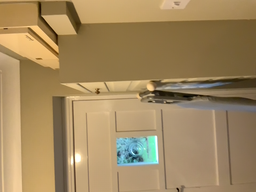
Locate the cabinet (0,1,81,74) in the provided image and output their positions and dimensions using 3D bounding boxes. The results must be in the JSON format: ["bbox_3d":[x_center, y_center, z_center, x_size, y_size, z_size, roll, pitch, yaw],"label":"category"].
[{"bbox_3d":[-0.420,-0.220,1.030,0.790,0.250,0.090,139,128,-86],"label":"cabinet"}]
